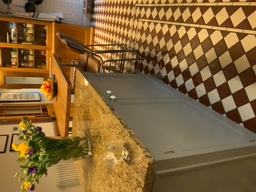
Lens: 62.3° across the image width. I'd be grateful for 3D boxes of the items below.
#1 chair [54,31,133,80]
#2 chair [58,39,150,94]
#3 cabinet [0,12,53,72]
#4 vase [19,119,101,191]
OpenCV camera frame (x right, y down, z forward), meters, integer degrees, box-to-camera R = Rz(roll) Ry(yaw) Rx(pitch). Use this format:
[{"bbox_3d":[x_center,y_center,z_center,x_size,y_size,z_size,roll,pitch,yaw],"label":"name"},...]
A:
[{"bbox_3d":[-0.490,-0.540,2.920,0.420,0.950,0.490,-133,48,-55],"label":"chair"},{"bbox_3d":[-0.300,-0.340,2.540,0.420,0.950,0.490,-133,48,-55],"label":"chair"},{"bbox_3d":[-2.270,-1.090,4.320,0.330,1.320,1.080,-138,53,-57],"label":"cabinet"},{"bbox_3d":[-0.500,0.400,1.520,0.370,0.490,0.320,-139,54,-57],"label":"vase"}]
